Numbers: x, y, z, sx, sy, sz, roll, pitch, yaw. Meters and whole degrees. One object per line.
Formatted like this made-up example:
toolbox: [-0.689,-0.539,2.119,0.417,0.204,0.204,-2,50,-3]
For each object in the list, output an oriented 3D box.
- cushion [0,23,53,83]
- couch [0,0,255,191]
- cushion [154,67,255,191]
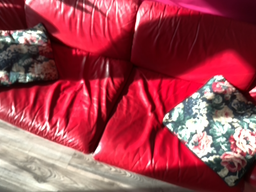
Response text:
cushion: [-0.750,-0.290,1.360,0.440,0.110,0.460,-1,51,-7]
couch: [0.010,-0.260,1.420,2.440,0.840,1.320,17,51,7]
cushion: [0.520,0.150,1.200,0.570,0.170,0.490,27,53,15]
